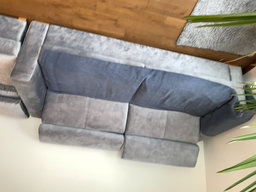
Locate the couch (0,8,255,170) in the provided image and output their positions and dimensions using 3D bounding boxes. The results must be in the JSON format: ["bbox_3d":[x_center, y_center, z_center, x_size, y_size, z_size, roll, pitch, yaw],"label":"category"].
[{"bbox_3d":[0.050,0.100,2.310,2.270,1.010,1.090,10,154,-10],"label":"couch"}]
